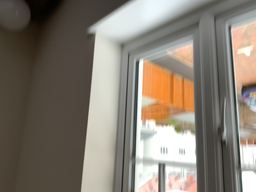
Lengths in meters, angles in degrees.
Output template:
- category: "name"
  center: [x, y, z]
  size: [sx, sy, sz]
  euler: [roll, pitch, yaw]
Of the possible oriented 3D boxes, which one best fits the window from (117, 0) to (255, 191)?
- category: "window"
  center: [0.340, 0.180, 0.890]
  size: [0.070, 1.120, 1.030]
  euler: [16, 161, -43]
